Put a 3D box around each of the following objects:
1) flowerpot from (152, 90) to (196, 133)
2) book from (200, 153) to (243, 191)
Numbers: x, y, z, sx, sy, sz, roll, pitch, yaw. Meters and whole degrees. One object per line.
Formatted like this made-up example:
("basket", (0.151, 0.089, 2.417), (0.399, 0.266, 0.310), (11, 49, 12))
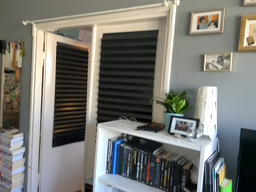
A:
("flowerpot", (0.300, 0.090, 1.380), (0.220, 0.240, 0.160), (7, 4, 33))
("book", (0.510, 0.490, 1.150), (0.150, 0.250, 0.330), (7, 4, 32))
